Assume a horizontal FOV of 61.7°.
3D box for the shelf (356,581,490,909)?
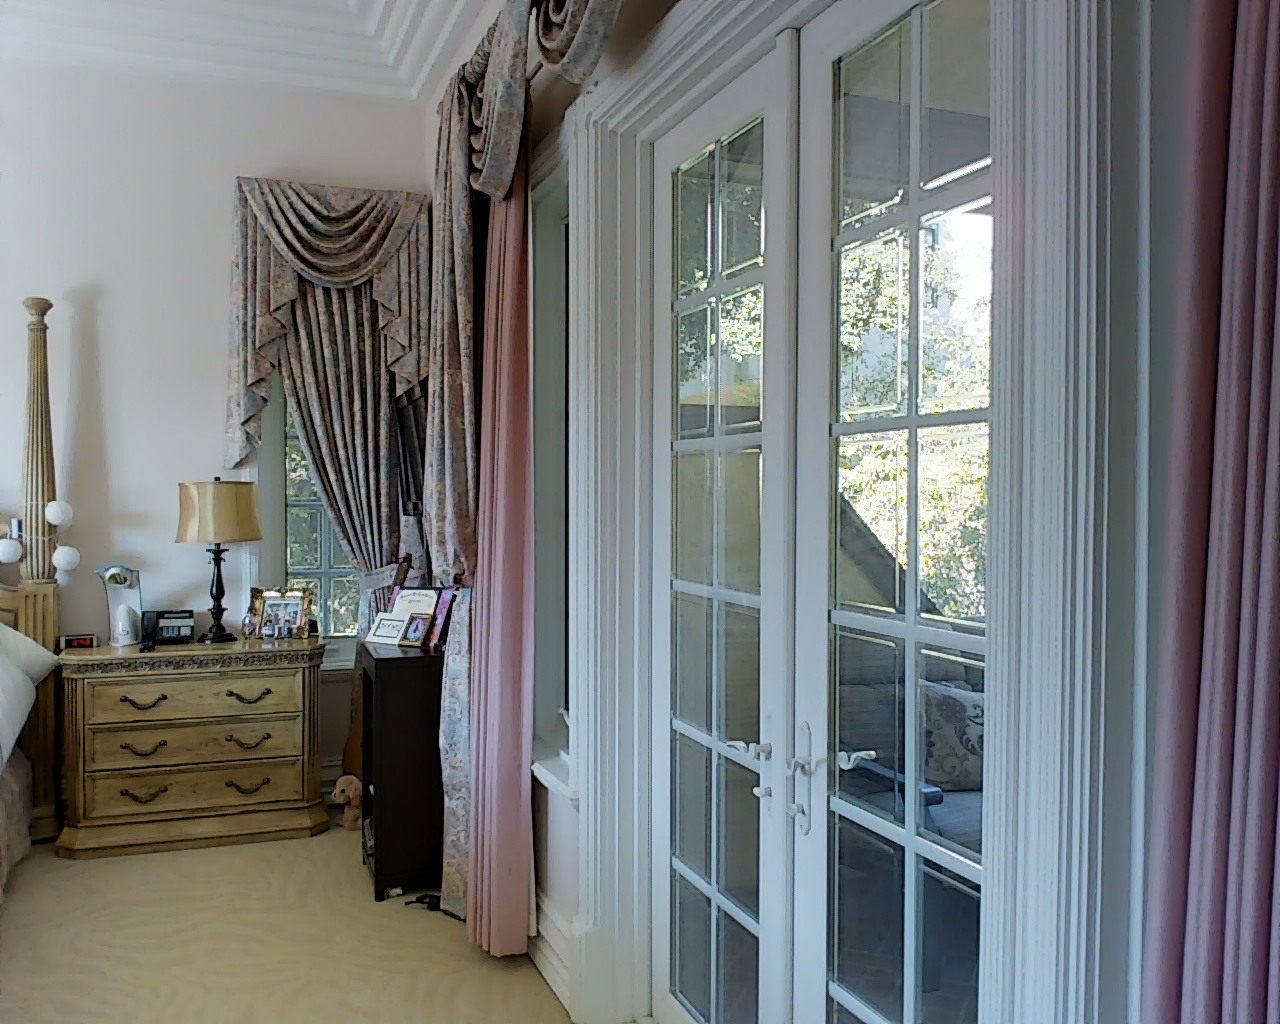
[{"bbox_3d":[-0.830,0.820,4.020,0.370,1.060,0.660,0,1,-22],"label":"shelf"}]
